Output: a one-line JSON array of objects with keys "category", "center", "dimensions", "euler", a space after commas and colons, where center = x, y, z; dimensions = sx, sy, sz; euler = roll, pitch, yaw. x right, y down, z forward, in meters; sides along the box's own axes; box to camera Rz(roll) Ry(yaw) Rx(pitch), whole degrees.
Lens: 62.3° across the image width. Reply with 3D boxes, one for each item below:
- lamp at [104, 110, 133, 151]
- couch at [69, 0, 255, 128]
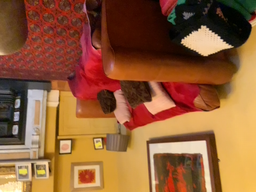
[{"category": "lamp", "center": [-0.180, 0.610, 3.700], "dimensions": [0.420, 0.660, 0.360], "euler": [2, 166, -17]}, {"category": "couch", "center": [0.010, -0.170, 2.400], "dimensions": [1.090, 0.860, 2.130], "euler": [2, 166, -20]}]
